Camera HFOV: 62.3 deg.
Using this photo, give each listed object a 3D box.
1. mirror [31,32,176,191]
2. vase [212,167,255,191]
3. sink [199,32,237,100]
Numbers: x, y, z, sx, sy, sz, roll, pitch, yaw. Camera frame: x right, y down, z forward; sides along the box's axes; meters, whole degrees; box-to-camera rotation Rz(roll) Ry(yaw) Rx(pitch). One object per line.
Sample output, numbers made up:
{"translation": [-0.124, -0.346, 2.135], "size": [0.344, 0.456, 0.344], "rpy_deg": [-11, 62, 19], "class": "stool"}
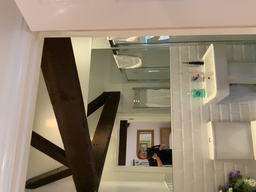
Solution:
{"translation": [-0.250, 0.160, 2.400], "size": [0.080, 1.510, 1.860], "rpy_deg": [69, -159, -77], "class": "mirror"}
{"translation": [1.070, 0.820, 1.900], "size": [0.340, 0.490, 0.310], "rpy_deg": [72, -161, -75], "class": "vase"}
{"translation": [0.840, -0.260, 2.030], "size": [0.420, 0.180, 0.530], "rpy_deg": [70, -160, -76], "class": "sink"}
